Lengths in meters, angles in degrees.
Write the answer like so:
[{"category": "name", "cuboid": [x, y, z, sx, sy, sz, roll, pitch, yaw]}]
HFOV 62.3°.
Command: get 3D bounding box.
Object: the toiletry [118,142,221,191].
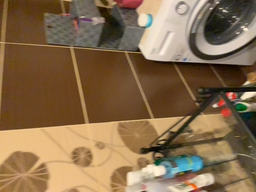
[{"category": "toiletry", "cuboid": [0.140, 0.330, 0.650, 0.170, 0.230, 0.300, -63, 38, 44]}]
